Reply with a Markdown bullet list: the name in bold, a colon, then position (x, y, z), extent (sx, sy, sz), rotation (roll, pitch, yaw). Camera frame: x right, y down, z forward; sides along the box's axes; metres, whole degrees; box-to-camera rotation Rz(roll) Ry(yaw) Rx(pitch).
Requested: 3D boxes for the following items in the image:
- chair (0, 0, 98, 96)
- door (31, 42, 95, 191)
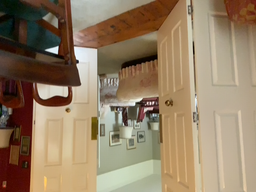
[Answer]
- **chair**: position (-0.490, -0.480, 0.880), extent (0.560, 0.880, 0.460), rotation (-6, 172, 36)
- **door**: position (-0.790, 0.310, 2.680), extent (0.740, 1.960, 0.040), rotation (2, 173, -20)
